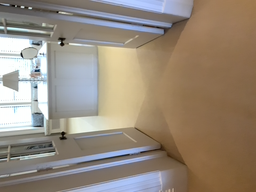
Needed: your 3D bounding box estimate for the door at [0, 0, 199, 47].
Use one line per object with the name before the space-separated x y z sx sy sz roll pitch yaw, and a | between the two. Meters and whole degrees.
door | -0.590 -0.590 1.480 0.910 2.040 0.070 -7 85 62
